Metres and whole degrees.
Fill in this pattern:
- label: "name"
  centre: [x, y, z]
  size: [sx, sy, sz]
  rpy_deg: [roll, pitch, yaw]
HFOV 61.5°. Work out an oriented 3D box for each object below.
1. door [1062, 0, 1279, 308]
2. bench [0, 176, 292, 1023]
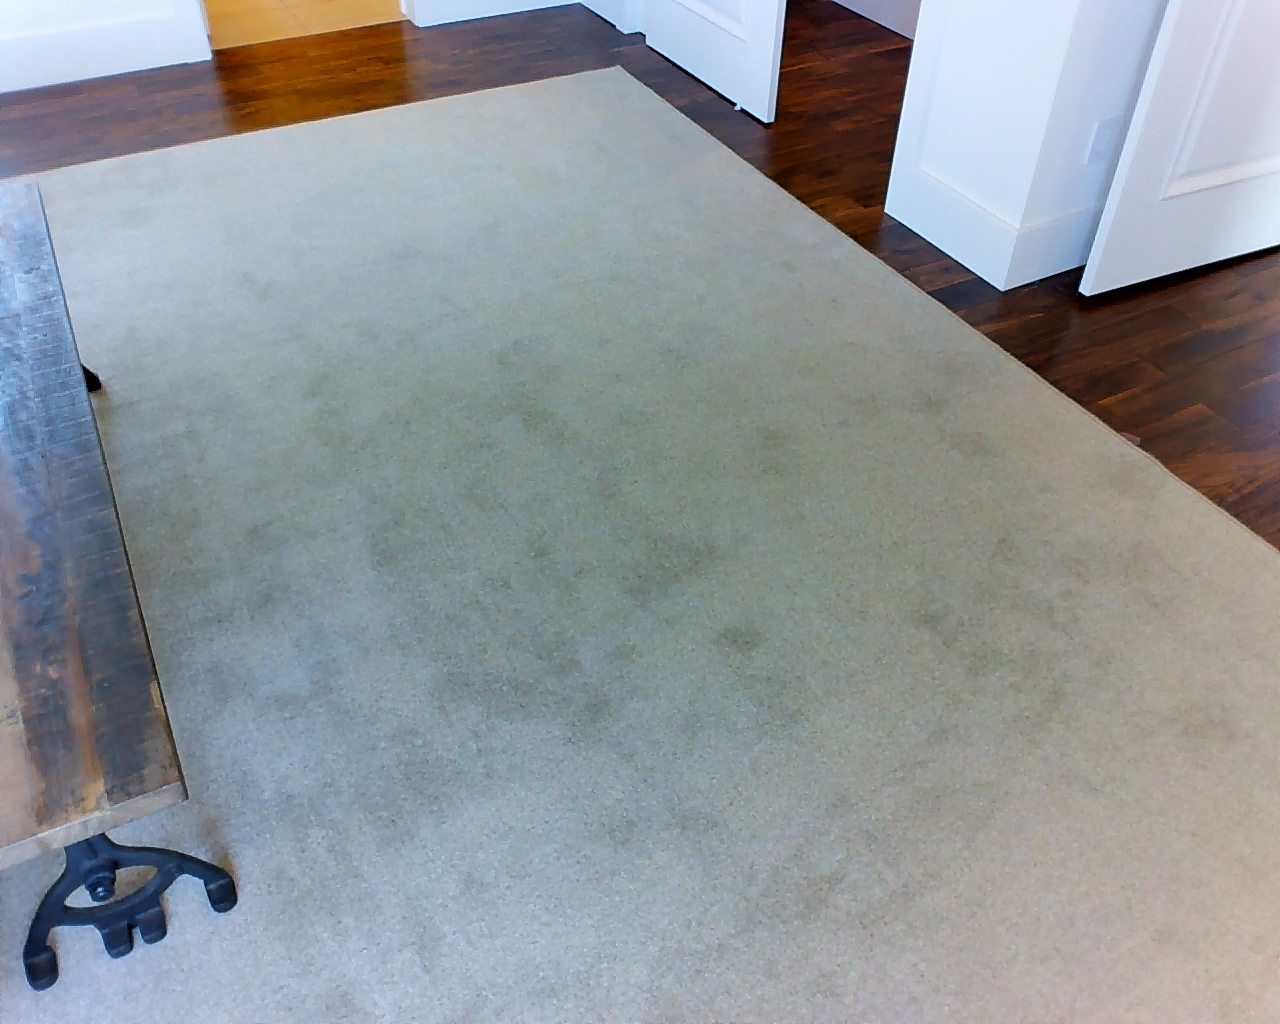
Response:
- label: "door"
  centre: [1.700, -1.550, 2.470]
  size: [0.990, 2.180, 0.120]
  rpy_deg: [-16, 45, -18]
- label: "bench"
  centre: [-1.110, -0.010, 1.960]
  size: [0.380, 0.450, 1.810]
  rpy_deg: [-19, 46, -21]
